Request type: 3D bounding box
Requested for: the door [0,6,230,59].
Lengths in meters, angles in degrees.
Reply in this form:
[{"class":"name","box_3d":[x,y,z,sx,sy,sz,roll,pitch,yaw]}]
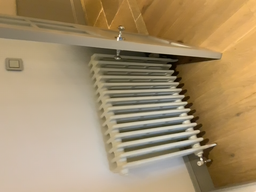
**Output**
[{"class":"door","box_3d":[-0.340,-0.440,1.360,0.850,2.030,0.100,35,121,52]}]
